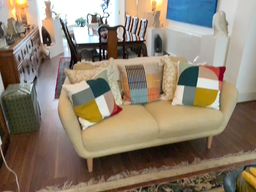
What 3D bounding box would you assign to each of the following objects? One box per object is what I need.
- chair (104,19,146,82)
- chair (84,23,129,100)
[{"bbox_3d":[-0.070,-0.870,3.950,0.640,1.020,0.550,-6,25,-13],"label":"chair"},{"bbox_3d":[-0.330,-0.550,3.250,0.560,1.010,0.620,-5,25,-11],"label":"chair"}]
